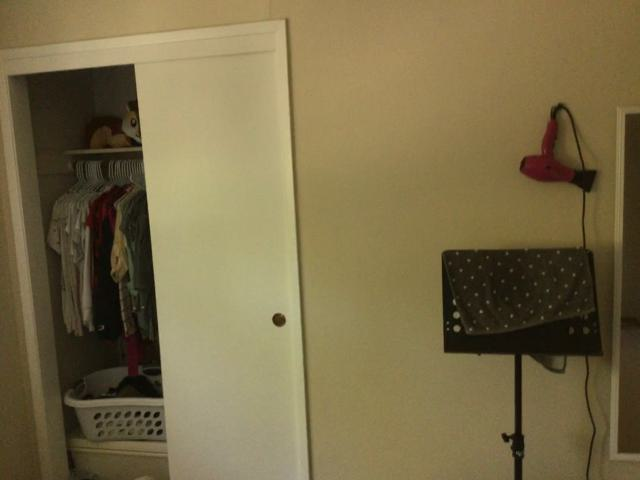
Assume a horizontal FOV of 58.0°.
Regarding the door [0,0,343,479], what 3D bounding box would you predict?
[{"bbox_3d":[-0.650,0.170,2.420,1.350,2.080,0.340,-2,5,15],"label":"door"}]
